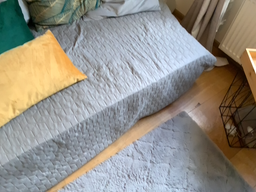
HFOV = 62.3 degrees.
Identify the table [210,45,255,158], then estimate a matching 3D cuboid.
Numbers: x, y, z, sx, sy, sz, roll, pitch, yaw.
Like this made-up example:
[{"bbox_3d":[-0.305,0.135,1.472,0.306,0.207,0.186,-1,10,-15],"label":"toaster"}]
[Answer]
[{"bbox_3d":[0.810,0.060,1.200,0.440,0.460,0.440,5,56,-2],"label":"table"}]
